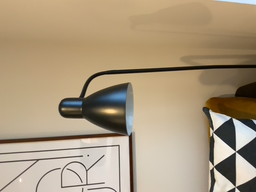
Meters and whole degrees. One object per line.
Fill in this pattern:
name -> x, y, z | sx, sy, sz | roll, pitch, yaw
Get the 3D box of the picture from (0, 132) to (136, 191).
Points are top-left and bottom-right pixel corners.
picture -> -0.310, 0.450, 0.990 | 0.020, 0.710, 0.520 | 165, 103, -76

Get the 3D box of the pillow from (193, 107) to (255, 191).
pillow -> 0.590, 0.360, 0.890 | 0.290, 0.570, 0.620 | 12, -104, -70
